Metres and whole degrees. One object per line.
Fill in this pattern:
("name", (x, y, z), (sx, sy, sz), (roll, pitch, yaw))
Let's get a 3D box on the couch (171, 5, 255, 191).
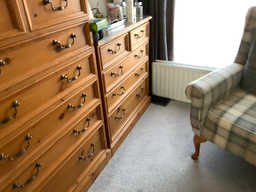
("couch", (0.900, -0.010, 1.440), (0.840, 0.980, 0.800), (-26, 37, -33))
